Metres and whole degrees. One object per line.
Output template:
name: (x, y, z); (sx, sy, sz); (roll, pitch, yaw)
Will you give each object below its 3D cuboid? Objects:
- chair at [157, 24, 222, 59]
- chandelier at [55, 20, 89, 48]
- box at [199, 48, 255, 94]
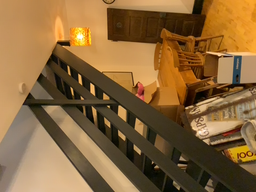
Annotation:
chair: (0.970, -0.900, 3.490); (0.500, 0.860, 0.490); (-100, 11, -72)
chandelier: (-0.920, -1.030, 3.550); (0.340, 0.500, 0.370); (-135, 46, -85)
box: (1.180, -0.300, 2.440); (0.440, 0.530, 0.470); (-104, 15, -76)
